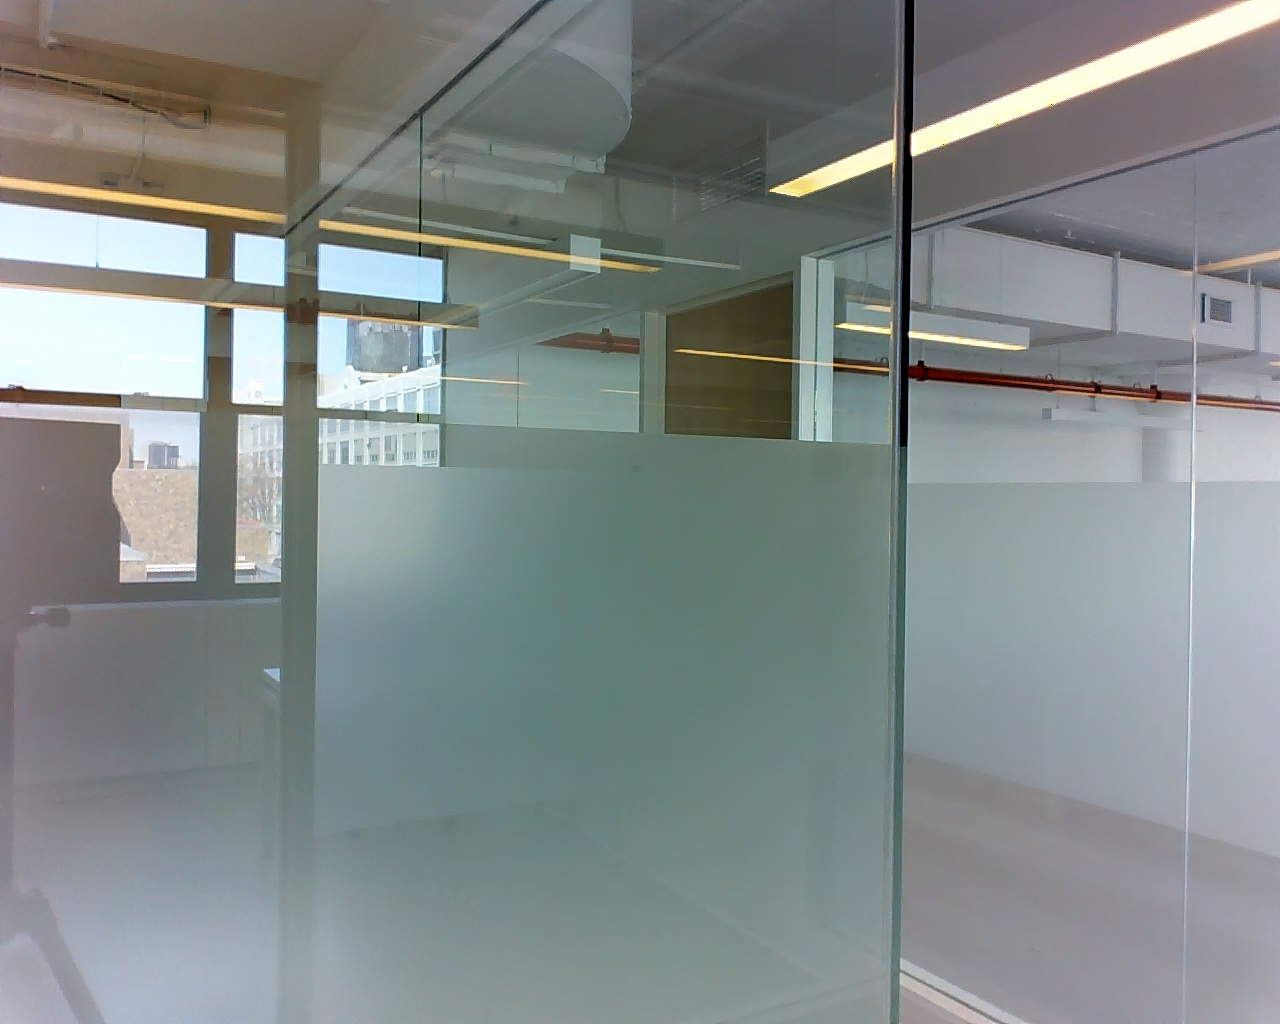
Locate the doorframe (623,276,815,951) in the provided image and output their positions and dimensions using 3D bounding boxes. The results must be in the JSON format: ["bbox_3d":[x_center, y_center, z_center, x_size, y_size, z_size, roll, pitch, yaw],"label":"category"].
[{"bbox_3d":[0.250,0.320,3.840,0.140,2.140,0.950,0,0,-31],"label":"doorframe"}]
